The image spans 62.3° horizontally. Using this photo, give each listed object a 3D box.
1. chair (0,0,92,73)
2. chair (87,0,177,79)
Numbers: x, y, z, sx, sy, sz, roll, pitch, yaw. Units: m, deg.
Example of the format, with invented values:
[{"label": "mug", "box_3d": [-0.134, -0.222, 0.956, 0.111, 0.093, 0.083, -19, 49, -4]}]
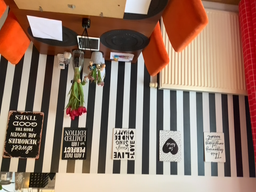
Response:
[{"label": "chair", "box_3d": [-0.590, -0.740, 1.670, 0.590, 0.970, 0.480, 4, 169, -10]}, {"label": "chair", "box_3d": [0.020, -0.690, 1.770, 0.620, 0.960, 0.480, 4, 169, -8]}]
